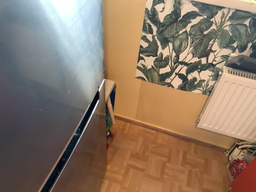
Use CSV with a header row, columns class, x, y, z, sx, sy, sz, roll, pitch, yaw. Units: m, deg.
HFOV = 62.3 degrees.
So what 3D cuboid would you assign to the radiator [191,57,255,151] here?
class,x,y,z,sx,sy,sz,roll,pitch,yaw
radiator,0.630,0.080,1.190,0.380,0.570,0.090,13,46,6
